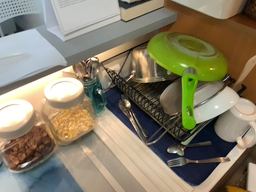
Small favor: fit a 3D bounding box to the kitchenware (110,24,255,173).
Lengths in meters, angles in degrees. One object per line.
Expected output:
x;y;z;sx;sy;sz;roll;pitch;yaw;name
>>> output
0.170;-0.030;0.710;0.250;0.190;0.450;-26;52;-27;kitchenware
